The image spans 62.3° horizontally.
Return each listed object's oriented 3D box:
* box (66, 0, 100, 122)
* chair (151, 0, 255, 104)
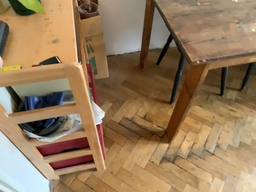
[{"bbox_3d":[-0.220,-0.210,1.020,0.100,0.240,0.620,-7,53,-7],"label":"box"},{"bbox_3d":[0.520,-0.480,1.510,0.460,0.850,0.640,-9,54,-9],"label":"chair"}]
